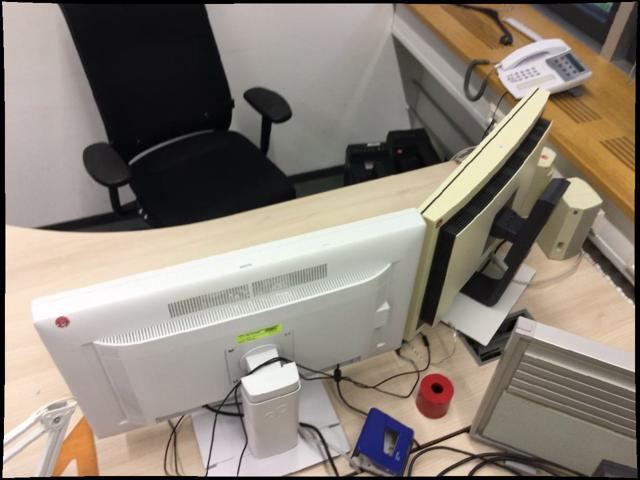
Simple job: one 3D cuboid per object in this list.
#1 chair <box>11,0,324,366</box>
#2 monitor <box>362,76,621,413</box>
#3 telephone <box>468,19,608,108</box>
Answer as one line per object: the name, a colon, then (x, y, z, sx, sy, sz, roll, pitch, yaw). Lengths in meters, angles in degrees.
chair: (-0.499, -0.300, 2.110, 0.690, 1.061, 0.860, -22, 50, -19)
monitor: (0.370, 0.000, 1.300, 0.250, 0.470, 0.560, 29, 53, 26)
telephone: (0.649, -0.541, 1.750, 0.290, 0.100, 0.260, -15, 48, -13)
